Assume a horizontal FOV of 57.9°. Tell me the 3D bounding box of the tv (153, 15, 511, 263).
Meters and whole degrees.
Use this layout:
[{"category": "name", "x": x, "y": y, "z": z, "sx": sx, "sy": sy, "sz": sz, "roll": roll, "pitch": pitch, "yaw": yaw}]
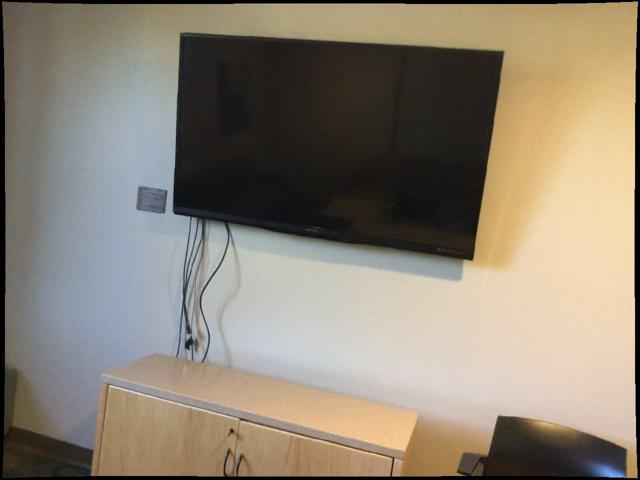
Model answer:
[{"category": "tv", "x": 0.010, "y": -0.440, "z": 2.420, "sx": 1.369, "sy": 0.821, "sz": 0.230, "roll": 10, "pitch": 6, "yaw": 15}]
